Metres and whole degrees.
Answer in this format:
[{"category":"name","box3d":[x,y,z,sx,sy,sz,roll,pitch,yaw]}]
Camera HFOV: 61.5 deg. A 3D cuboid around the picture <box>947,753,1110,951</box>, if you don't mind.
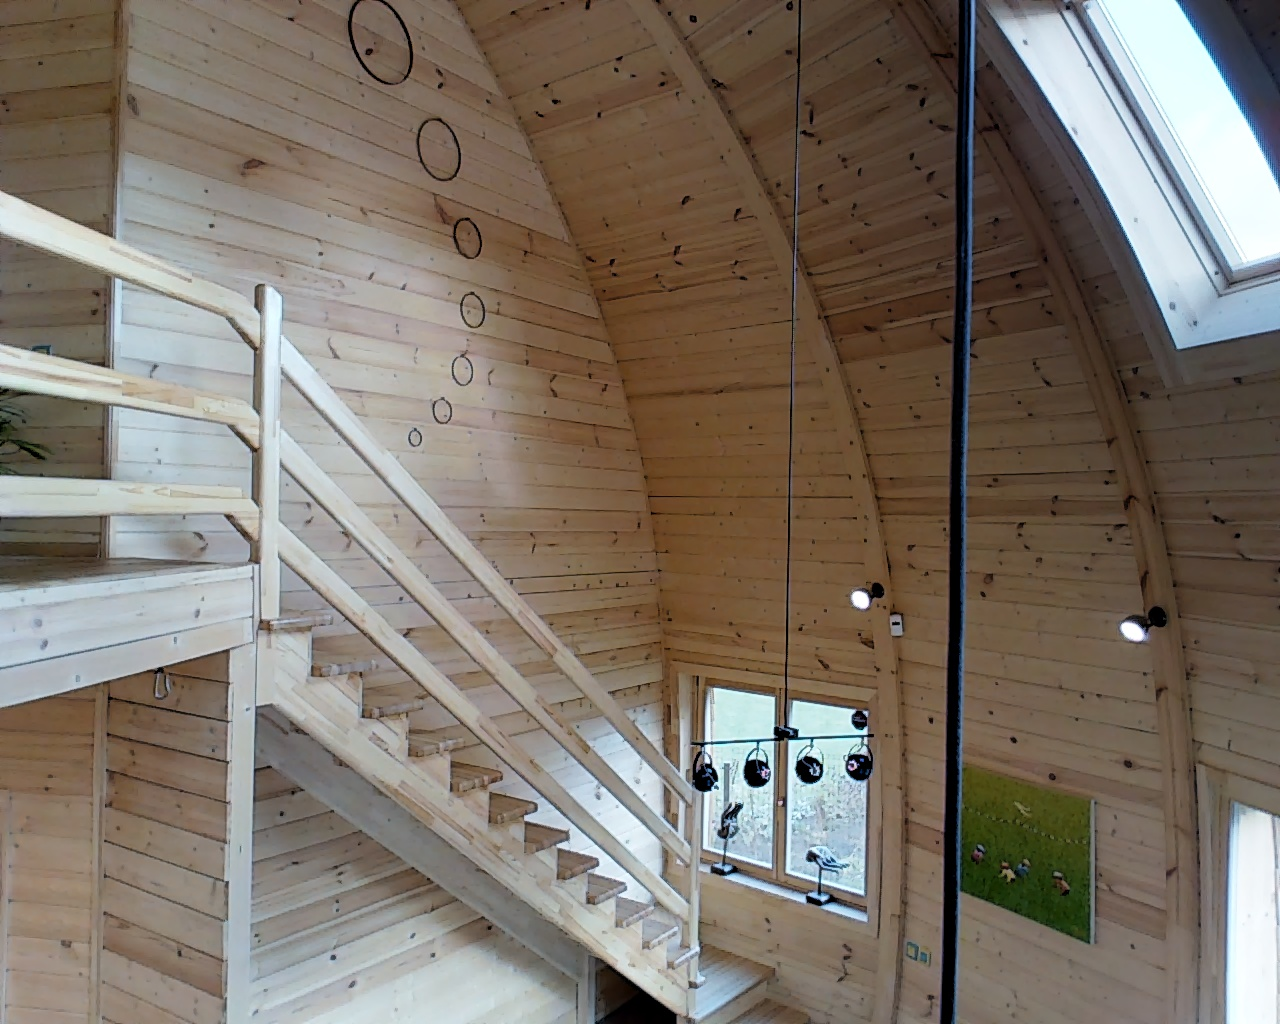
[{"category":"picture","box3d":[1.969,1.711,5.530,0.110,0.740,0.930,1,0,-29]}]
